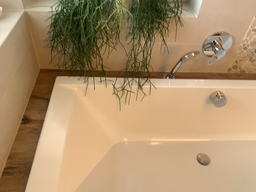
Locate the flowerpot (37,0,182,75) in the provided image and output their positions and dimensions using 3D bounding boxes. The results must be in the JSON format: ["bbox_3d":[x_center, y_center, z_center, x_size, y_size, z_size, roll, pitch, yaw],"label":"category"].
[{"bbox_3d":[-0.090,-0.430,1.100,0.630,0.550,0.260,4,44,-3],"label":"flowerpot"}]
